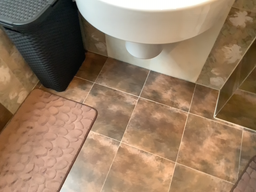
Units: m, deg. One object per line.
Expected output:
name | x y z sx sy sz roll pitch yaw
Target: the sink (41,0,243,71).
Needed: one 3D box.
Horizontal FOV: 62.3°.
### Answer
sink | 0.080 -0.400 0.740 0.570 0.170 0.480 18 61 10
